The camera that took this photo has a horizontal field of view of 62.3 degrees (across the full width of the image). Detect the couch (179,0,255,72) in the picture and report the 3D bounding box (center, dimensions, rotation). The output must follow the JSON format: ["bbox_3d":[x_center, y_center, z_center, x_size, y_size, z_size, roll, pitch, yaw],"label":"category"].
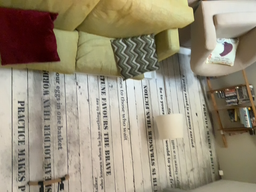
[{"bbox_3d":[1.140,-0.740,2.560,0.790,0.680,0.720,-4,171,-3],"label":"couch"}]
